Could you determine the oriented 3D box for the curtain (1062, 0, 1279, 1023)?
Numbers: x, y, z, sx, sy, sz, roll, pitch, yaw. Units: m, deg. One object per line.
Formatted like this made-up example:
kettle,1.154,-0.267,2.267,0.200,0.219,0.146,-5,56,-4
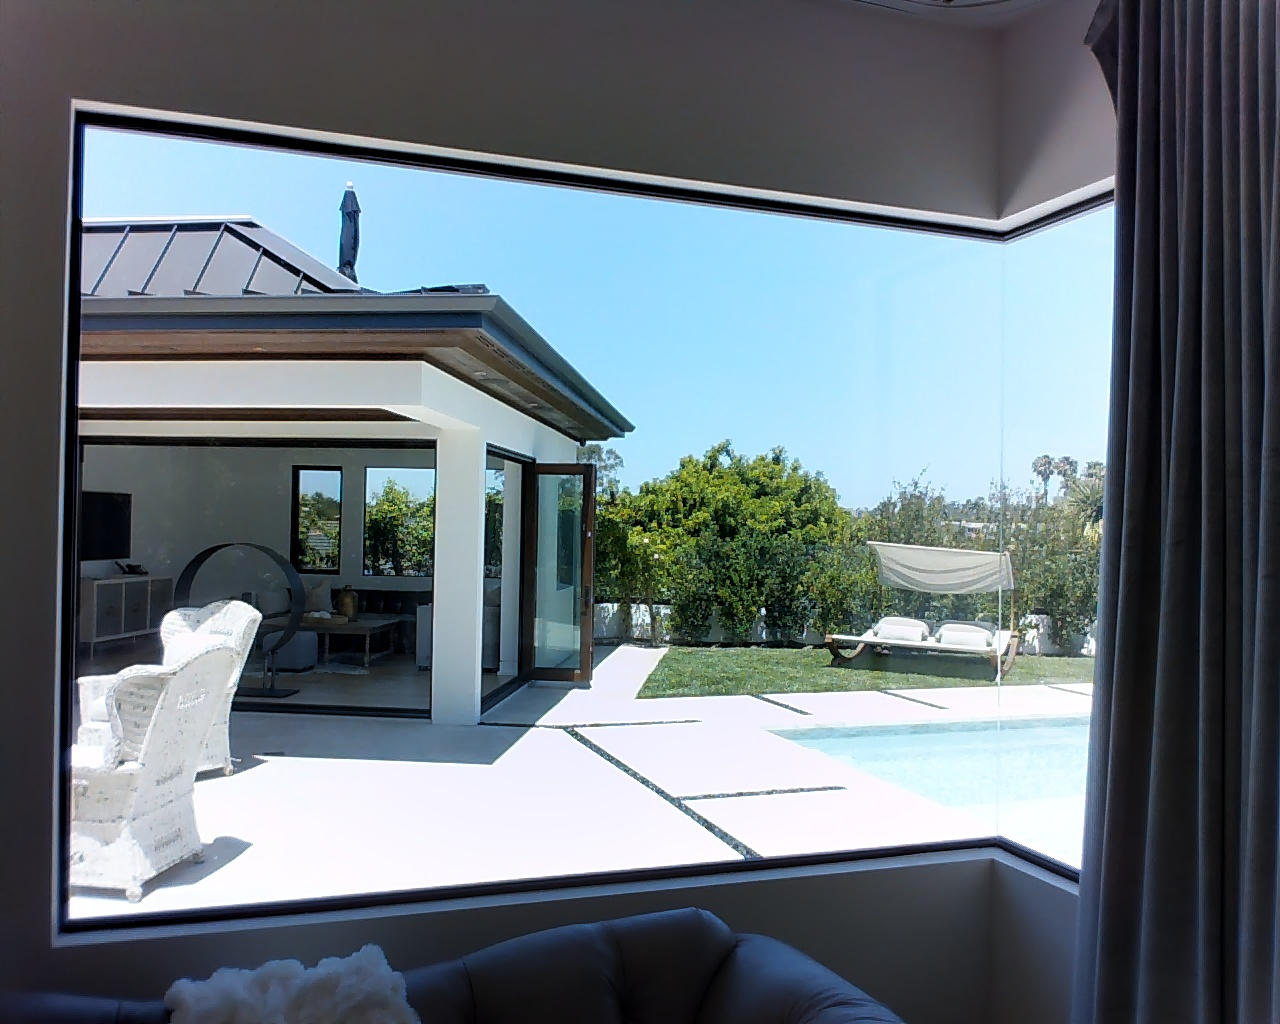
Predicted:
curtain,1.000,0.280,1.750,0.150,2.790,0.690,1,-1,-20
